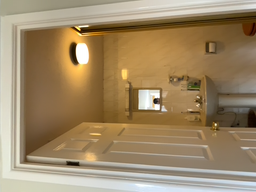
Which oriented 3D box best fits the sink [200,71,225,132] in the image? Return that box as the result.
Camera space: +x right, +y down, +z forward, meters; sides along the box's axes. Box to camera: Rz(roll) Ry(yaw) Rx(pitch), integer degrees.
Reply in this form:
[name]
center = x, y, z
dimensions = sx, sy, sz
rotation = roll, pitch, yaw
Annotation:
[sink]
center = 0.980, 0.060, 2.490
dimensions = 0.390, 0.210, 0.650
rotation = 6, -95, -77
